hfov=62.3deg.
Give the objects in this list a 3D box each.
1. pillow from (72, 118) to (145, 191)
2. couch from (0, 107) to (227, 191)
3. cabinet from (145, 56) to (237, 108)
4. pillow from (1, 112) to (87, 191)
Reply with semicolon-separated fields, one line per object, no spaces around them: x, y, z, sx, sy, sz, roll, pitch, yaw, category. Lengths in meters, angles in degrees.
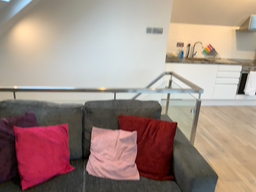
-0.150;0.480;1.730;0.410;0.370;0.260;-36;19;9;pillow
-0.350;0.630;1.600;1.690;0.770;0.870;-1;20;-14;couch
1.230;-0.300;4.310;1.580;0.880;0.590;0;20;-13;cabinet
-0.610;0.420;1.590;0.420;0.430;0.140;-38;16;-31;pillow
